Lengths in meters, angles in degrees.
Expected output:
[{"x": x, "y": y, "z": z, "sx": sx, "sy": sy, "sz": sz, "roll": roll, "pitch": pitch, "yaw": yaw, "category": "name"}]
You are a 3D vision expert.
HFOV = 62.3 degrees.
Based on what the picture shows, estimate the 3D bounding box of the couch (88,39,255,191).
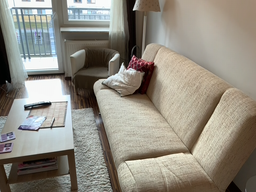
[{"x": 0.230, "y": 0.100, "z": 2.150, "sx": 1.020, "sy": 0.920, "sz": 1.950, "roll": -5, "pitch": 28, "yaw": -16, "category": "couch"}]

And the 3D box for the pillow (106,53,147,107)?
[{"x": -0.040, "y": -0.200, "z": 2.540, "sx": 0.240, "sy": 0.390, "sz": 0.500, "roll": -17, "pitch": 48, "yaw": -26, "category": "pillow"}]

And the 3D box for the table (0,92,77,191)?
[{"x": -0.800, "y": 0.390, "z": 1.960, "sx": 0.550, "sy": 0.460, "sz": 0.910, "roll": -5, "pitch": 28, "yaw": -16, "category": "table"}]

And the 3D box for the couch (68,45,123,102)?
[{"x": -0.470, "y": -0.380, "z": 3.330, "sx": 0.600, "sy": 0.630, "sz": 0.680, "roll": 10, "pitch": 27, "yaw": 12, "category": "couch"}]
